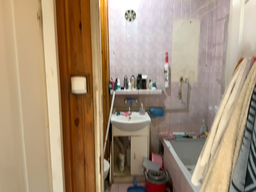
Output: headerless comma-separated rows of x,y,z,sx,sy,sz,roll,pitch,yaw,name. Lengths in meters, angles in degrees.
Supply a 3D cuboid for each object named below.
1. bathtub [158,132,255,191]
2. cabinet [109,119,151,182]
0.810,0.920,2.250,0.690,0.560,1.630,0,9,-2,bathtub
0.020,0.720,2.850,0.520,0.750,0.300,0,9,-3,cabinet
